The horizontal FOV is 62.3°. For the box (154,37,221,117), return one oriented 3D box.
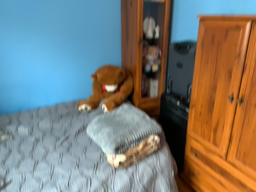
[{"bbox_3d":[0.540,-0.210,2.040,0.350,0.640,0.440,-10,23,-26],"label":"box"}]

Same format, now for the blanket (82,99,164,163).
[{"bbox_3d":[-0.060,0.240,1.710,0.460,0.200,0.510,-11,23,-27],"label":"blanket"}]

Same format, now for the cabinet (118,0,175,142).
[{"bbox_3d":[0.190,-0.450,2.530,0.470,1.950,0.410,-10,23,-26],"label":"cabinet"}]
